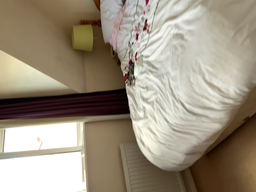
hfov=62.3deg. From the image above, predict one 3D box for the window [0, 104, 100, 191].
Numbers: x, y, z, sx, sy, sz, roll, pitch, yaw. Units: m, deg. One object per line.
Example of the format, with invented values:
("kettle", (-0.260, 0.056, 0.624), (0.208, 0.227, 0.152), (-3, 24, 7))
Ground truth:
("window", (-0.970, 0.860, 2.210), (0.330, 1.270, 1.640), (104, 159, -48))
